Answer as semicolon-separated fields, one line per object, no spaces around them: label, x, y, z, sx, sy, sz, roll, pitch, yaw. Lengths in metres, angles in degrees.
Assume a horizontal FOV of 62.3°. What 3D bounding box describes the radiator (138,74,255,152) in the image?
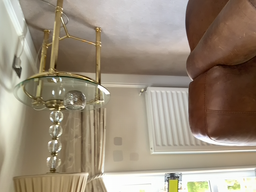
radiator;0.800;0.160;1.980;1.370;0.660;0.160;2;157;-13
